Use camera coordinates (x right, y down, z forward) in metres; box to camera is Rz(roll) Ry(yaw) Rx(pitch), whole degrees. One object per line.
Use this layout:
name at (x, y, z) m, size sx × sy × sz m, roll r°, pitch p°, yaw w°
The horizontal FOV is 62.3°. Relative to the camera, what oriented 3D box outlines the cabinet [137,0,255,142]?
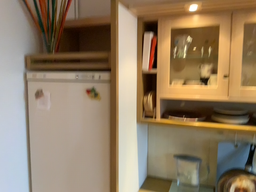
cabinet at (0.890, -0.150, 1.230) m, size 1.660 × 0.800 × 0.280 m, roll 3°, pitch 6°, yaw 20°
